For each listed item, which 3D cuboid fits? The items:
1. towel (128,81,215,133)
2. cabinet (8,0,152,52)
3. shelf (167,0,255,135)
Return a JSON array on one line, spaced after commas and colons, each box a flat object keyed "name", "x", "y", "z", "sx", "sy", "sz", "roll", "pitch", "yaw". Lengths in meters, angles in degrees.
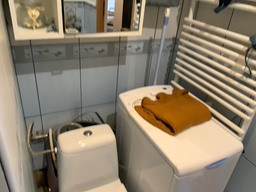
[{"name": "towel", "x": 0.230, "y": 0.040, "z": 1.230, "sx": 0.340, "sy": 0.060, "sz": 0.380, "roll": -8, "pitch": 33, "yaw": -23}, {"name": "cabinet", "x": -0.200, "y": -0.570, "z": 0.950, "sx": 0.640, "sy": 0.660, "sz": 0.200, "roll": -10, "pitch": 34, "yaw": -26}, {"name": "shelf", "x": 0.520, "y": -0.410, "z": 1.080, "sx": 0.120, "sy": 1.010, "sz": 0.660, "roll": -8, "pitch": 33, "yaw": -23}]
